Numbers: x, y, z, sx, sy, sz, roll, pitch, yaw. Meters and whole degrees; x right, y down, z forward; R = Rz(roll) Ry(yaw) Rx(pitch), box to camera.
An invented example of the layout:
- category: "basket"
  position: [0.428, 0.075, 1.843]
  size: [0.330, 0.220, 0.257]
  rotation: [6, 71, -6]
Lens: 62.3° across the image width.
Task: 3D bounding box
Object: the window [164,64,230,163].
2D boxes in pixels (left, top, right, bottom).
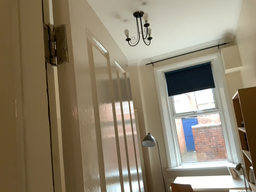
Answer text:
- category: "window"
  position: [1.260, 0.350, 3.980]
  size: [0.900, 1.710, 0.190]
  rotation: [-11, -9, 26]
